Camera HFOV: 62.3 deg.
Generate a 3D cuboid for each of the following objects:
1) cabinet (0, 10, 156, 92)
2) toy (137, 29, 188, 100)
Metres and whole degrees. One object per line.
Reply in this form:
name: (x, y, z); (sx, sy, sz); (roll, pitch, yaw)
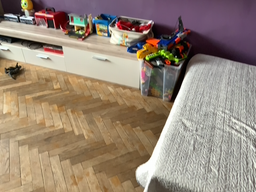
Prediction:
cabinet: (-0.770, -0.600, 2.540); (2.110, 0.450, 0.450); (14, 39, 16)
toy: (0.360, -0.340, 2.200); (0.360, 0.500, 0.510); (14, 39, 15)
